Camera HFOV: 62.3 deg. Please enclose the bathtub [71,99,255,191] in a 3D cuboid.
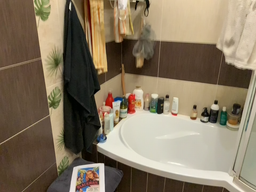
[{"bbox_3d":[0.550,0.630,1.650,1.710,0.660,0.850,10,24,21],"label":"bathtub"}]
